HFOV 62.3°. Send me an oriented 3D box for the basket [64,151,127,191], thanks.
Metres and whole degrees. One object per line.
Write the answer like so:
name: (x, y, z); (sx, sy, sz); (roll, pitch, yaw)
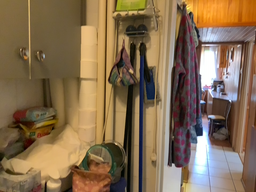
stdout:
basket: (-0.160, 0.430, 1.140); (0.220, 0.130, 0.310); (5, 8, 17)
